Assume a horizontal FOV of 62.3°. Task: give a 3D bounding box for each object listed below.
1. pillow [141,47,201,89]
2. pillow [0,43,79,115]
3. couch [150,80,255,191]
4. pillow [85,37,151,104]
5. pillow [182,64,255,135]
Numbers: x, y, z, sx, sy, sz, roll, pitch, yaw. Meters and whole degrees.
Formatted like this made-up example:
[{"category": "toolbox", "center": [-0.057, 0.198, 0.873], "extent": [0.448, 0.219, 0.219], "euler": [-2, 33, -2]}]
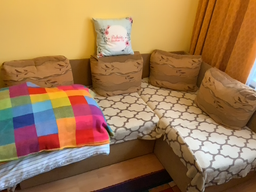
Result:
[{"category": "pillow", "center": [0.480, -0.300, 2.370], "extent": [0.550, 0.340, 0.200], "euler": [-5, 42, 32]}, {"category": "pillow", "center": [-0.810, -0.160, 1.960], "extent": [0.530, 0.420, 0.260], "euler": [-26, 36, -9]}, {"category": "couch", "center": [0.760, 0.360, 1.860], "extent": [0.830, 0.710, 0.630], "euler": [-9, 35, -23]}, {"category": "pillow", "center": [-0.090, -0.270, 2.220], "extent": [0.540, 0.470, 0.250], "euler": [-23, 36, -11]}, {"category": "pillow", "center": [0.810, 0.000, 1.970], "extent": [0.210, 0.340, 0.640], "euler": [-8, 34, -22]}]
